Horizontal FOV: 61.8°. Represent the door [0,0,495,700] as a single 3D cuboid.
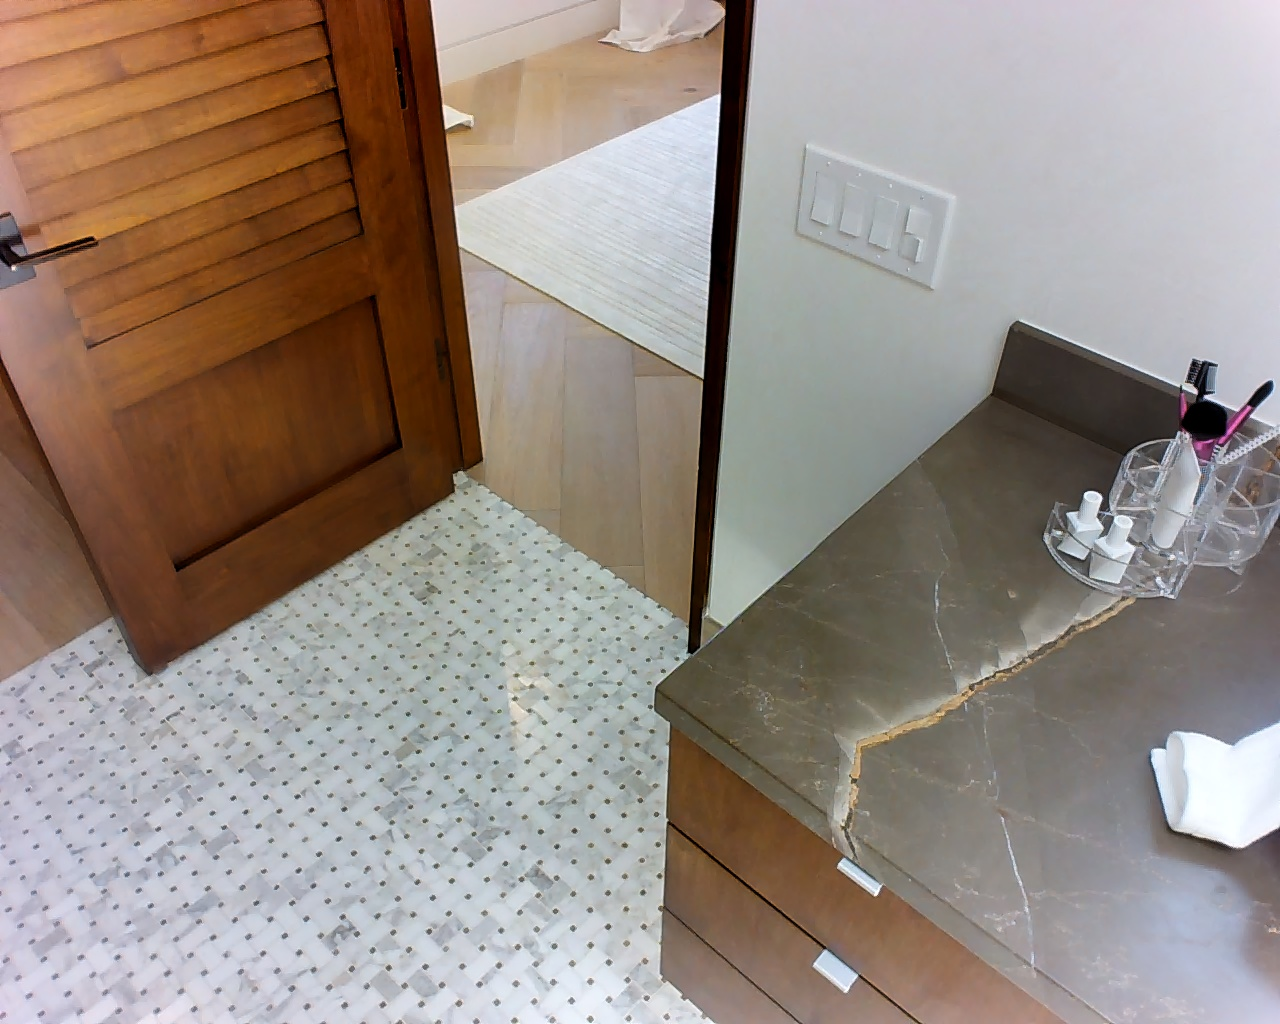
[{"bbox_3d":[-0.680,-0.750,1.540,0.050,2.420,0.890,33,52,31],"label":"door"}]
